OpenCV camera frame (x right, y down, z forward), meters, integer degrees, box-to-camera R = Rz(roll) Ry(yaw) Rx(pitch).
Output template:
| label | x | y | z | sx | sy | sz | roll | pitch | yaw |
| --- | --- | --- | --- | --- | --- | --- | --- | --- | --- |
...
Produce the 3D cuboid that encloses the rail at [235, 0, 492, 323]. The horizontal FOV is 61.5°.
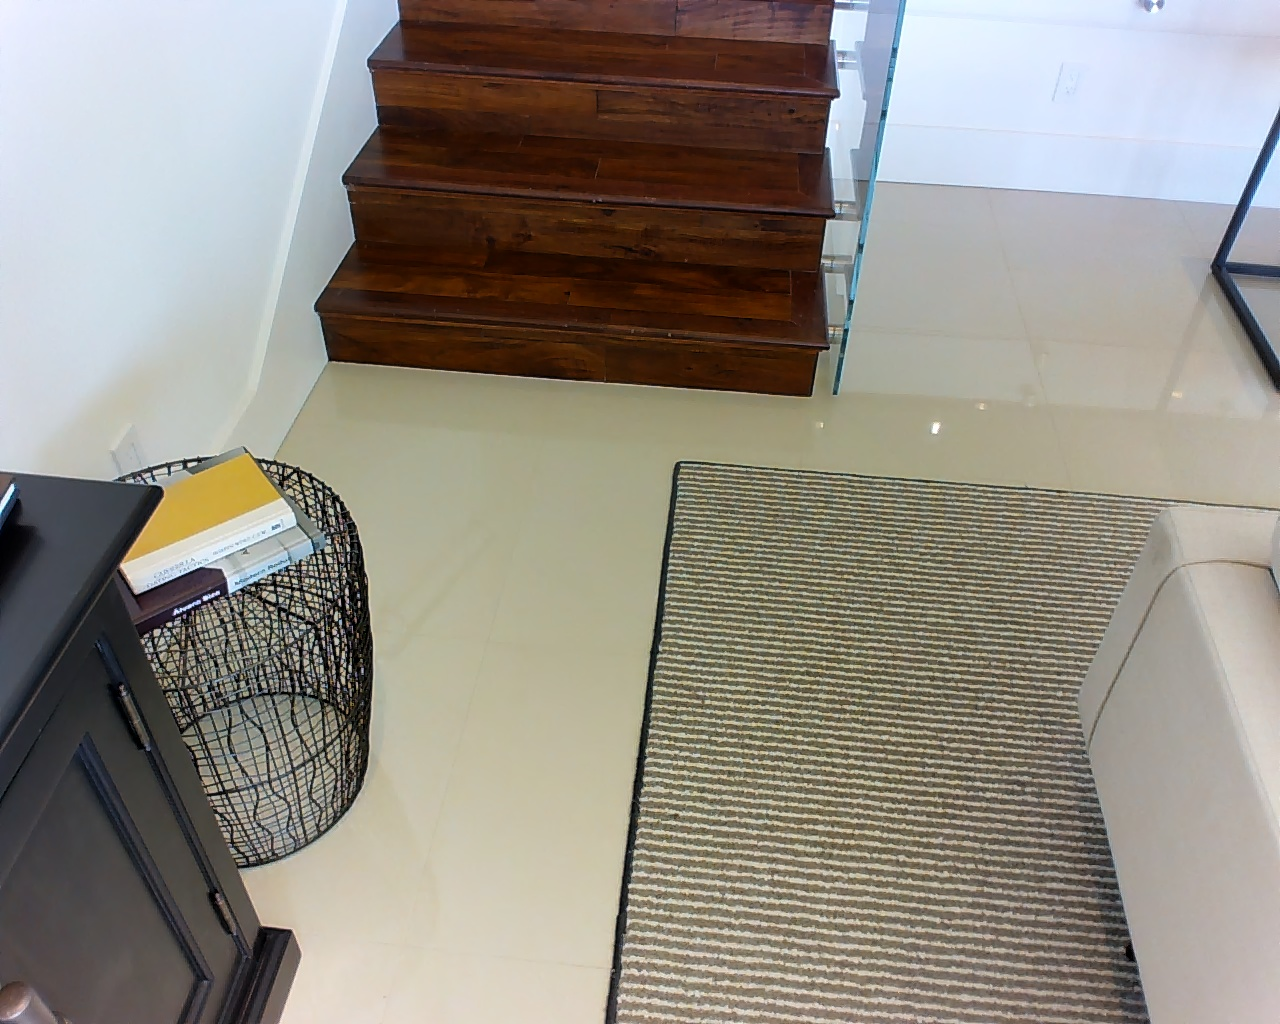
| label | x | y | z | sx | sy | sz | roll | pitch | yaw |
| --- | --- | --- | --- | --- | --- | --- | --- | --- | --- |
| rail | -0.630 | -1.510 | 2.560 | 0.140 | 1.540 | 1.460 | 5 | 43 | 4 |
